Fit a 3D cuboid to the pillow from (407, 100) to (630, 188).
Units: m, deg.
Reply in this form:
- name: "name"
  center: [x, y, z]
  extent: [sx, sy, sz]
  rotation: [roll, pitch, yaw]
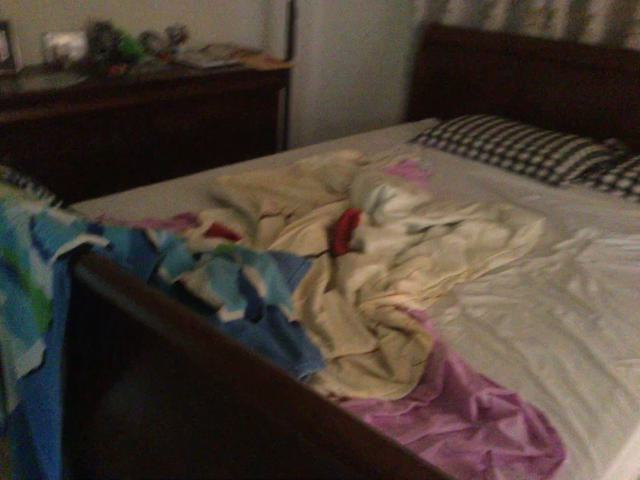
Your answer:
- name: "pillow"
  center: [0.760, -0.400, 2.260]
  extent: [0.700, 0.110, 0.440]
  rotation: [25, 33, 37]

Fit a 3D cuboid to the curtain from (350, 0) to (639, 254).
- name: "curtain"
  center: [0.880, -1.020, 2.450]
  extent: [1.520, 1.740, 0.320]
  rotation: [25, 33, 37]
